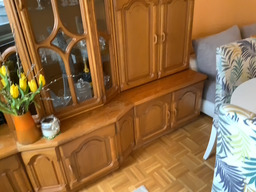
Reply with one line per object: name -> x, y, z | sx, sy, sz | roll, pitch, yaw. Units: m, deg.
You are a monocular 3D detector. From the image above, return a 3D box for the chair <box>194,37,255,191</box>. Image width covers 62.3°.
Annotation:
chair -> 0.890, 0.130, 1.570 | 0.450, 0.970, 0.510 | -20, 33, -28

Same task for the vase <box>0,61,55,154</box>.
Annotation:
vase -> -0.690, 0.060, 1.330 | 0.300, 0.450, 0.260 | -18, 32, -25
